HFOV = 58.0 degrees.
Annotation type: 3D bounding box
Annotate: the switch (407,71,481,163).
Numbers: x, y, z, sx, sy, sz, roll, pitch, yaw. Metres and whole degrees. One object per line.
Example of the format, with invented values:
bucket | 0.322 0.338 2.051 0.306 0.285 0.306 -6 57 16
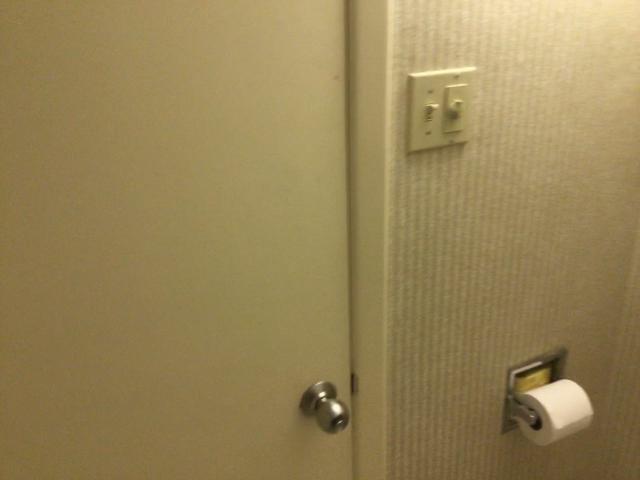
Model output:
switch | 0.180 -0.180 0.840 0.110 0.120 0.020 -11 24 -26
